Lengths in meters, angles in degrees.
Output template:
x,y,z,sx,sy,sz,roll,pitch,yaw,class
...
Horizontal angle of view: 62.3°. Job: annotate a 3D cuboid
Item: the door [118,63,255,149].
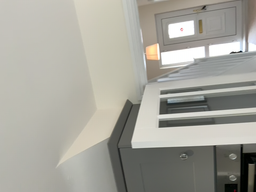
x,y,z,sx,sy,sz,roll,pitch,yaw,class
1.020,-0.050,1.150,0.870,2.030,0.090,-68,-30,-66,door
